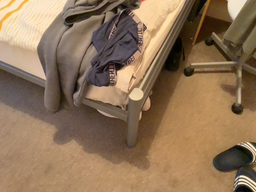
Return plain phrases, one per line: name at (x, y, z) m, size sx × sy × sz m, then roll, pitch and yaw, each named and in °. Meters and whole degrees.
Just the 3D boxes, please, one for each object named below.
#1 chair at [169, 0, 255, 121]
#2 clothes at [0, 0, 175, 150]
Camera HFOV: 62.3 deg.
chair at (0.710, -0.380, 1.160) m, size 0.670 × 0.720 × 0.680 m, roll -8°, pitch 57°, yaw -7°
clothes at (-0.130, -0.230, 0.950) m, size 0.440 × 0.480 × 0.670 m, roll 23°, pitch 59°, yaw 13°
